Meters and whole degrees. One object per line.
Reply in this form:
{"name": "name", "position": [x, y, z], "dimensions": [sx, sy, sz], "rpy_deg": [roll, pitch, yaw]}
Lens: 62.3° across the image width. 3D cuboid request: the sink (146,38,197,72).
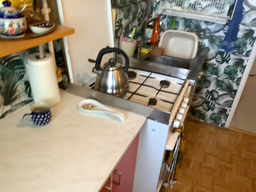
{"name": "sink", "position": [0.400, -0.380, 1.920], "dimensions": [0.360, 0.150, 0.330], "rpy_deg": [17, 32, 20]}
